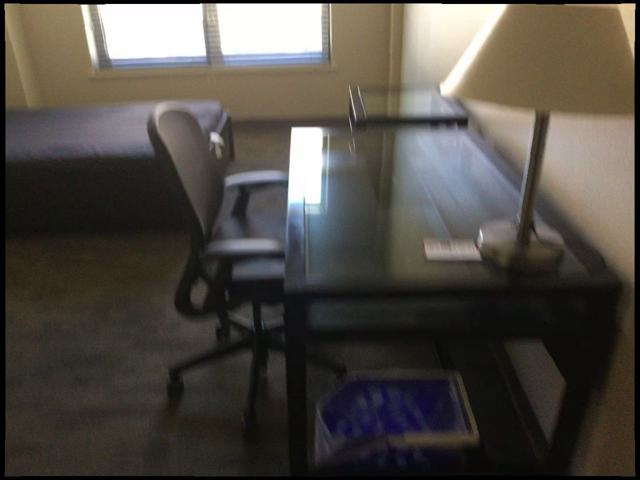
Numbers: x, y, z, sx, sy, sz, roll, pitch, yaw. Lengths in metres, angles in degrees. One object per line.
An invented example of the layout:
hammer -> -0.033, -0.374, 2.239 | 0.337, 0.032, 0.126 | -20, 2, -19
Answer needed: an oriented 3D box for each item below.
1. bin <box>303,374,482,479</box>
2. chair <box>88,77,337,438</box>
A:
bin -> 0.190, 0.601, 1.640 | 0.449, 0.351, 0.240 | -1, 27, 2
chair -> -0.249, 0.030, 1.950 | 0.589, 0.982, 0.720 | -1, 27, 2
